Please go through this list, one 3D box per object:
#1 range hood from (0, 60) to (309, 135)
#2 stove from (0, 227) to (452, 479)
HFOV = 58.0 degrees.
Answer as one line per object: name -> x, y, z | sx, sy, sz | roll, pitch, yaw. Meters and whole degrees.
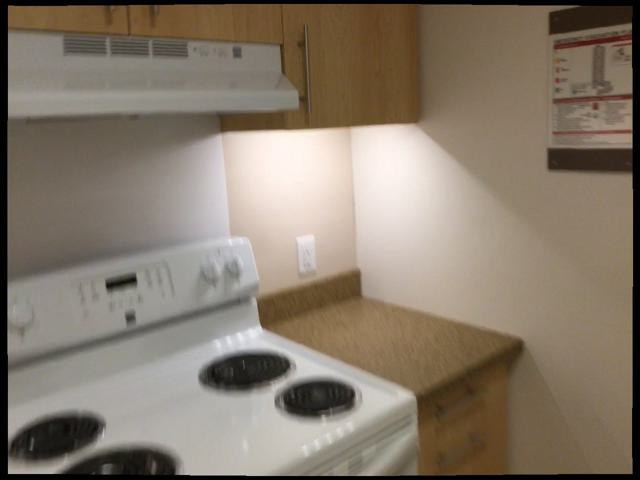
range hood -> -0.329, -0.291, 1.140 | 0.659, 0.110, 0.150 | -14, 19, -37
stove -> -0.289, 0.671, 1.330 | 0.819, 1.162, 0.809 | -14, 19, -37
